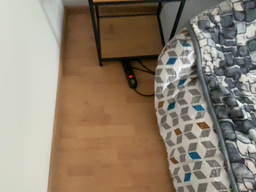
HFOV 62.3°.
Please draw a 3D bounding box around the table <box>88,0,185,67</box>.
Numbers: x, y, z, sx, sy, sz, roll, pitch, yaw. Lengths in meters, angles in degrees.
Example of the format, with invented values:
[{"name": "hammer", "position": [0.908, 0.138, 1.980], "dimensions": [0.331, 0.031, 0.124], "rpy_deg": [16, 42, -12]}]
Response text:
[{"name": "table", "position": [0.020, -0.490, 1.140], "dimensions": [0.410, 0.620, 0.370], "rpy_deg": [-3, 66, -4]}]
